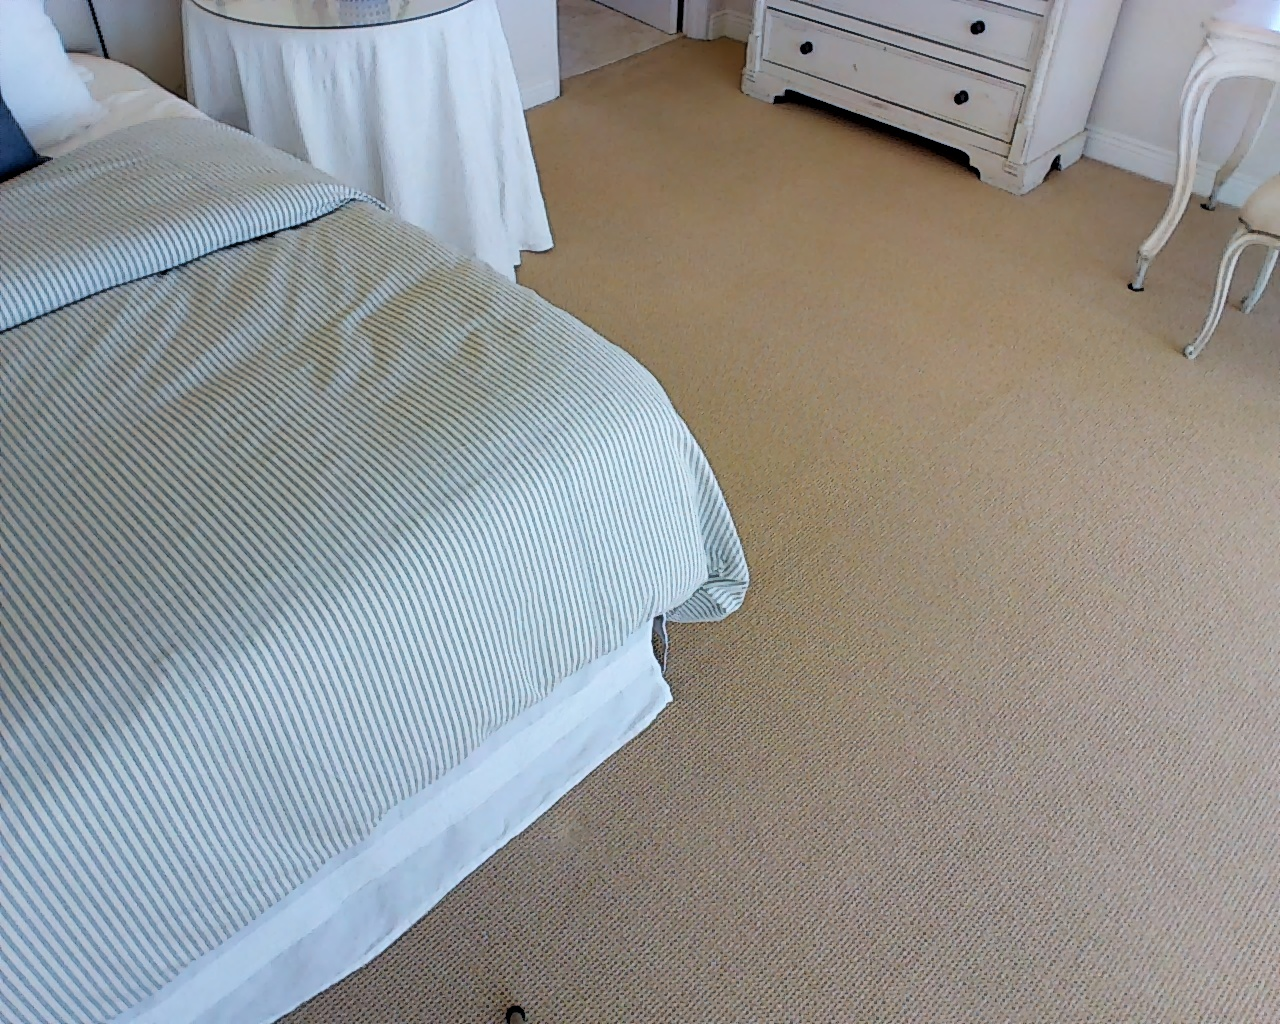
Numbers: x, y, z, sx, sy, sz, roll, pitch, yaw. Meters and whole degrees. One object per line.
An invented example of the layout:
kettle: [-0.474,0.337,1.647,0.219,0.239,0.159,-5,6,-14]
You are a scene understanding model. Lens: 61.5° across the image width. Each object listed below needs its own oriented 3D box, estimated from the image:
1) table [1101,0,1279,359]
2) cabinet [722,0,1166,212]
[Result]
table: [2.130,-0.830,2.800,1.330,0.780,0.820,33,51,30]
cabinet: [1.010,-1.810,3.670,1.370,1.030,0.520,32,50,30]
